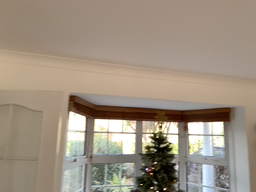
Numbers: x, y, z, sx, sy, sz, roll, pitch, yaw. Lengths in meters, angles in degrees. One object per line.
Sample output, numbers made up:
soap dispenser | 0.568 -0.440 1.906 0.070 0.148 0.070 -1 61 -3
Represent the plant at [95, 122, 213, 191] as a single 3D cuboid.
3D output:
plant | 0.190 1.250 2.420 1.020 1.810 1.080 4 -10 -14
